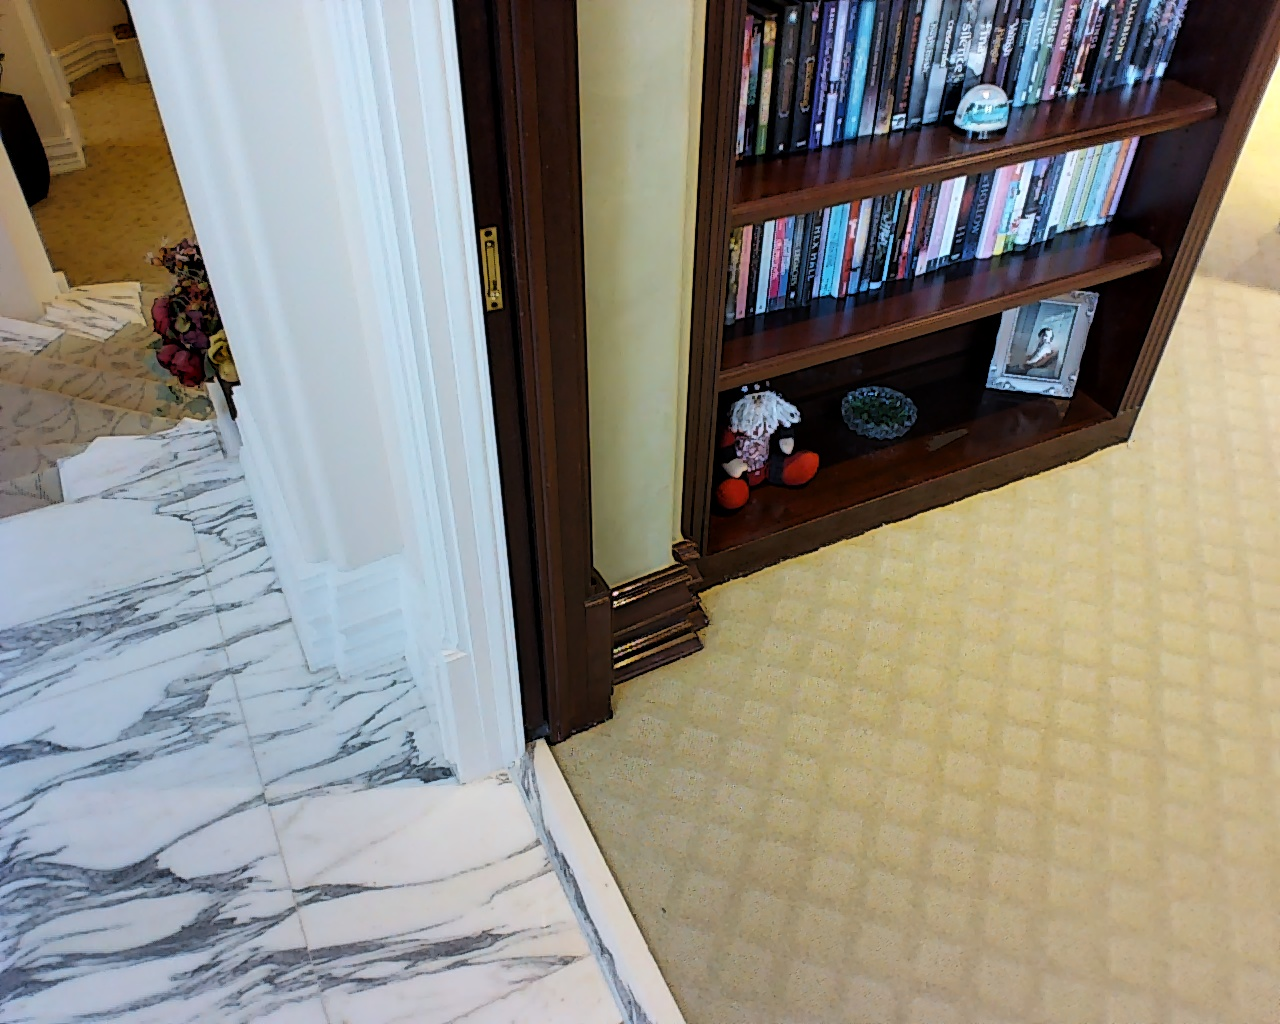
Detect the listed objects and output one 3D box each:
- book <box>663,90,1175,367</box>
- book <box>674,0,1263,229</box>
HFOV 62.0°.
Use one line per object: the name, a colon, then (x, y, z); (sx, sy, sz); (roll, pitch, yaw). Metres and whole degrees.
book: (0.500, -0.510, 1.860); (0.990, 0.260, 0.090); (-19, 45, -20)
book: (0.520, -0.690, 1.630); (0.950, 0.280, 0.170); (-17, 45, -19)
